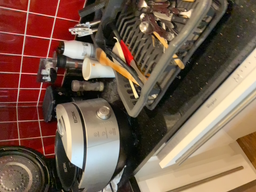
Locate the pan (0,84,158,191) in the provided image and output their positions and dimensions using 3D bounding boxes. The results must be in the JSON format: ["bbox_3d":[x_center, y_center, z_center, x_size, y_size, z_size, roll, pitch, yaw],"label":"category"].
[{"bbox_3d":[-0.250,0.210,0.720,0.410,0.490,0.290,-58,45,40],"label":"pan"}]
